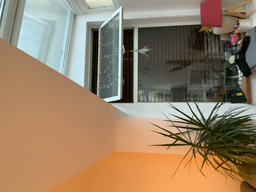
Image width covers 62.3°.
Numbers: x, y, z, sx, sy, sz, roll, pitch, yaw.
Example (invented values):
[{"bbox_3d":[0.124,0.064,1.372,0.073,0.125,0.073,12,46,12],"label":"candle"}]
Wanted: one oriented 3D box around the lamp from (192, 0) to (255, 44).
[{"bbox_3d":[1.010,-0.820,2.240,0.550,0.550,0.330,45,-135,-80],"label":"lamp"}]
